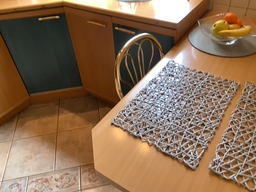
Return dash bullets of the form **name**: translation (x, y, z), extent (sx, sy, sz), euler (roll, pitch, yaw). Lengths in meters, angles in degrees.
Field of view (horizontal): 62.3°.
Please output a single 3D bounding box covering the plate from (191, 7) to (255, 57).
- **plate**: translation (0.530, -0.350, 1.110), extent (0.280, 0.080, 0.320), euler (22, 47, 25)
